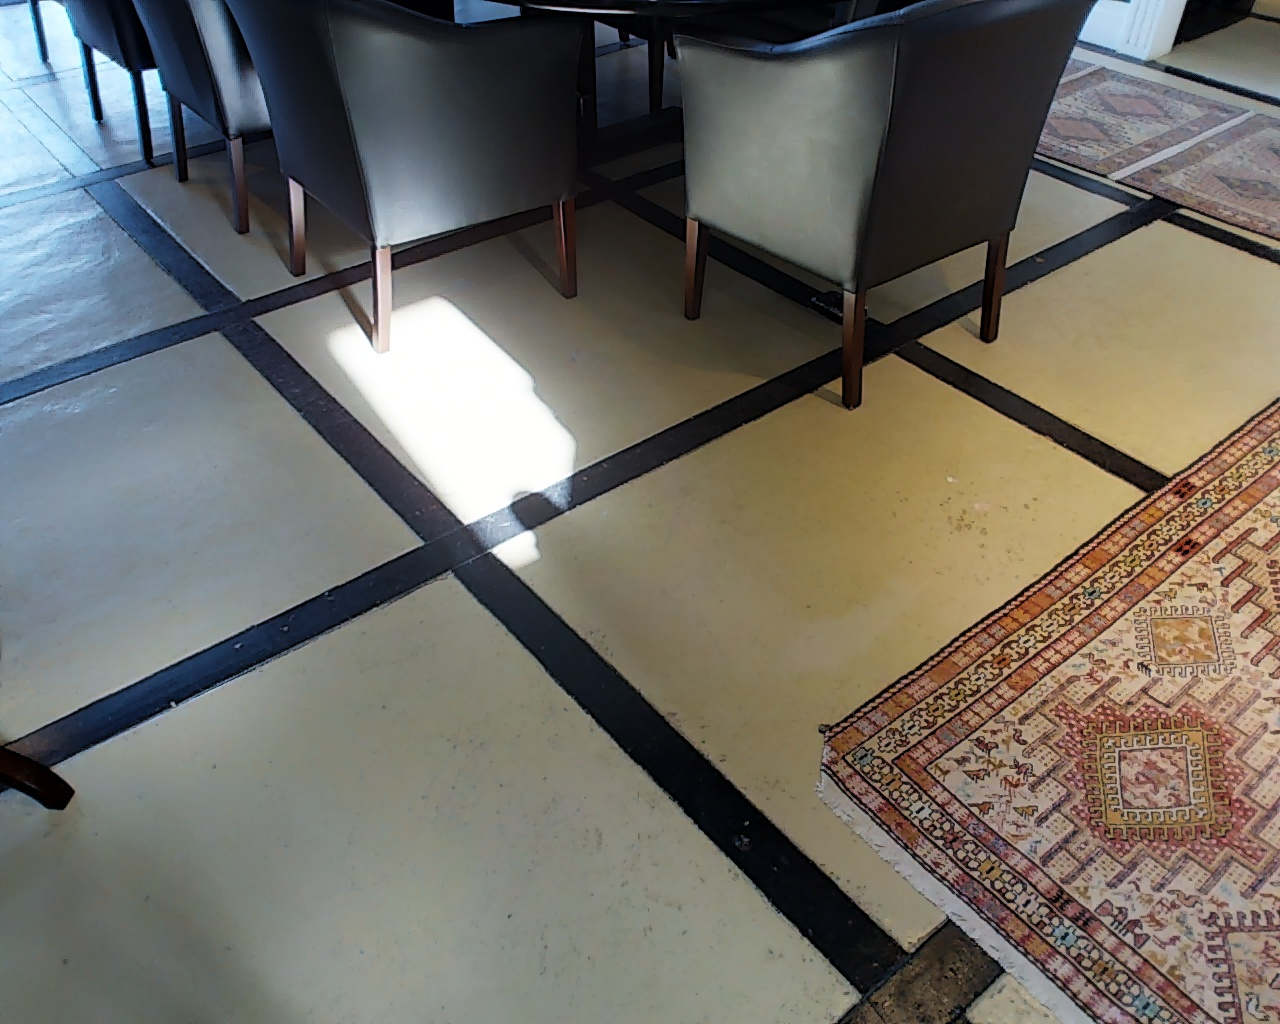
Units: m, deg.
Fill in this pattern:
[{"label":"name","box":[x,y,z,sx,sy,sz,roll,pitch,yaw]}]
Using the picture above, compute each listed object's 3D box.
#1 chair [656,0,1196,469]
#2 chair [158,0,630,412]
[{"label":"chair","box":[0.530,-0.730,2.230,0.690,0.860,0.710,-27,47,-29]},{"label":"chair","box":[-0.520,-0.850,2.380,0.710,0.840,0.700,-27,47,-29]}]
